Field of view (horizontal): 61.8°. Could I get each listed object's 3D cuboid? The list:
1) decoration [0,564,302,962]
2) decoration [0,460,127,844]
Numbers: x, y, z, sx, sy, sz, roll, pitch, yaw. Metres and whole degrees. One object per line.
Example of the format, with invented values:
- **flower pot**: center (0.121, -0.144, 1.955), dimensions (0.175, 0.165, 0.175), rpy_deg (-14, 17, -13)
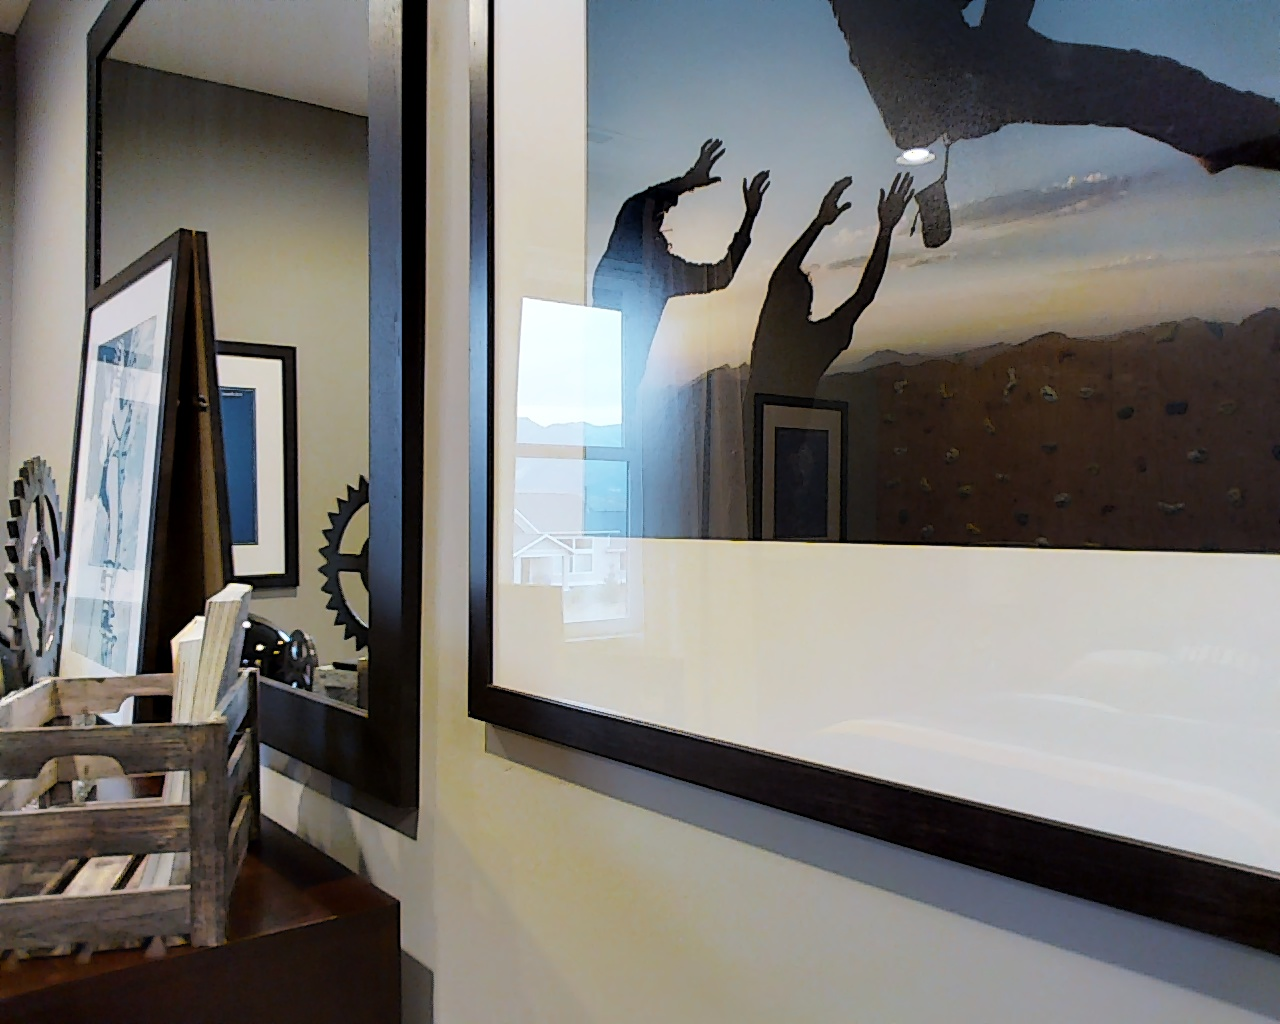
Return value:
- **decoration**: center (-0.460, 0.200, 0.980), dimensions (0.260, 0.290, 0.300), rpy_deg (0, 0, -13)
- **decoration**: center (-0.690, 0.150, 1.260), dimensions (0.120, 0.410, 0.230), rpy_deg (0, 0, -17)
